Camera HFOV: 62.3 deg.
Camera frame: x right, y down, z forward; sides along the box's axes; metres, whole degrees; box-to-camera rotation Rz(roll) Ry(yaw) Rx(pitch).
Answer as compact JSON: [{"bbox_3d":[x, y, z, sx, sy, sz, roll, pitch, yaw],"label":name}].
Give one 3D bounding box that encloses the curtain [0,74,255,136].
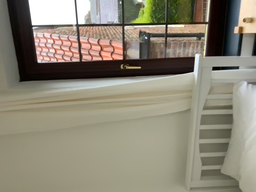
[{"bbox_3d":[-0.070,0.050,1.390,0.090,1.860,0.320,-115,24,-73],"label":"curtain"}]
